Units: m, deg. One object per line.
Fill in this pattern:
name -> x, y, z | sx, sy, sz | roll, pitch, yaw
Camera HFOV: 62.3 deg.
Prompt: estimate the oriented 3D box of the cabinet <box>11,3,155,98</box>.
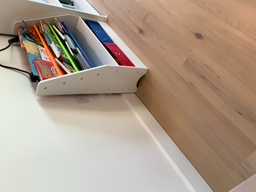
cabinet -> -0.330, -0.320, 1.540 | 0.700, 0.780, 0.240 | 52, 129, 35
